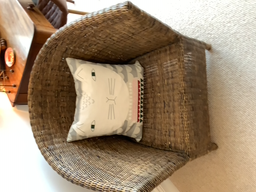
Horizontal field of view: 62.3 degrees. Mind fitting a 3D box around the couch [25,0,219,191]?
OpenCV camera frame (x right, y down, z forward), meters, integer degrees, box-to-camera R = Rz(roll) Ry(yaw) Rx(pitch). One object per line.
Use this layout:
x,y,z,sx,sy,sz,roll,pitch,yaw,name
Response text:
-0.010,0.000,1.110,0.660,0.740,0.680,-3,89,42,couch
